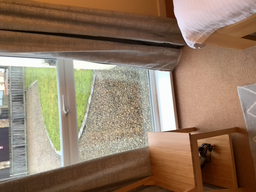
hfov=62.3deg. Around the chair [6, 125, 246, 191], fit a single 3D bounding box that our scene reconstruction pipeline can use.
[{"bbox_3d":[0.070,0.470,1.240,0.450,1.330,0.470,-14,79,57],"label":"chair"}]
